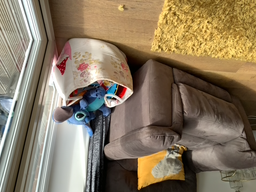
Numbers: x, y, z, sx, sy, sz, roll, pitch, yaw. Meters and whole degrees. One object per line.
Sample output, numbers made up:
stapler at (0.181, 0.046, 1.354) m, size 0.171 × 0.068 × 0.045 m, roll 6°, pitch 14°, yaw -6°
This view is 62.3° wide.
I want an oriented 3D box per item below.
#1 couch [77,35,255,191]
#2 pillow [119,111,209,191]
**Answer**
couch at (0.380, 0.420, 1.690) m, size 1.220 × 1.020 × 0.930 m, roll 18°, pitch 146°, yaw -30°
pillow at (0.310, 0.510, 1.740) m, size 0.600 × 0.460 × 0.190 m, roll 45°, pitch 152°, yaw -9°
